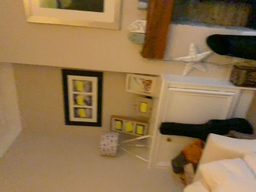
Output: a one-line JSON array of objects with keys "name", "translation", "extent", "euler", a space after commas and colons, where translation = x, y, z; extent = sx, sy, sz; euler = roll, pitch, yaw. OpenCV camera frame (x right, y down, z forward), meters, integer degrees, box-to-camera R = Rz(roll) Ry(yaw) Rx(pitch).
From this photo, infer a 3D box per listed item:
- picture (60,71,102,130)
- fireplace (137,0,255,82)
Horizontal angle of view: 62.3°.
[{"name": "picture", "translation": [-0.610, 0.090, 2.830], "extent": [0.050, 0.510, 0.840], "euler": [-89, 3, -61]}, {"name": "fireplace", "translation": [0.750, -1.030, 1.790], "extent": [0.890, 1.170, 1.550], "euler": [-89, 4, -64]}]
